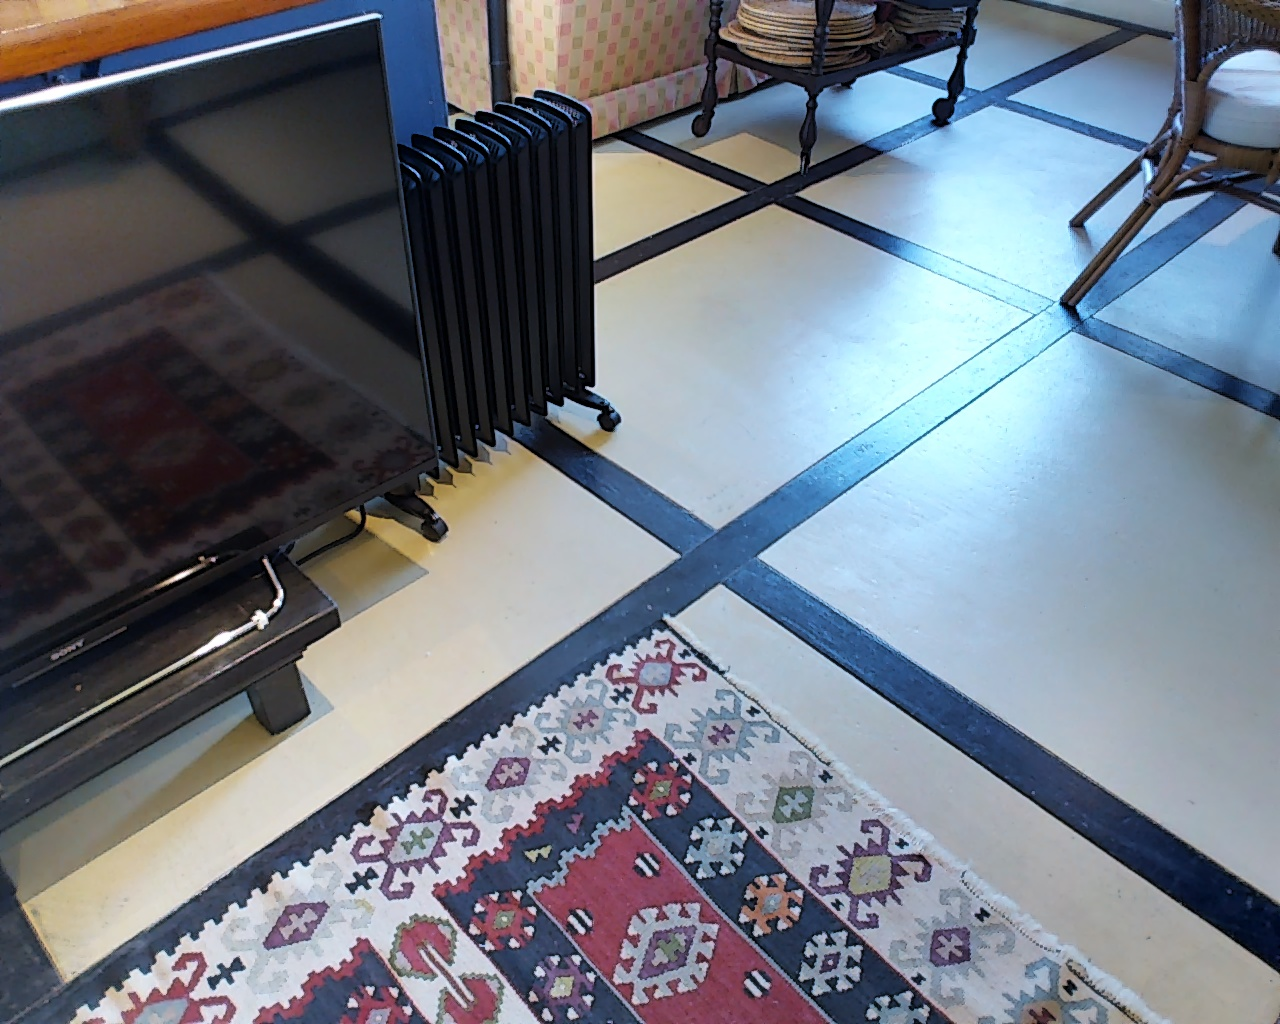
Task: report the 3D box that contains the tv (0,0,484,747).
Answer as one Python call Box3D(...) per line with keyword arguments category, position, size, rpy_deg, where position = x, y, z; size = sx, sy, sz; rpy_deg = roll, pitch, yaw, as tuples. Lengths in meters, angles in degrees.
Box3D(category="tv", position=(-0.730, -0.060, 1.140), size=(1.230, 0.680, 0.140), rpy_deg=(-32, 50, -32))
